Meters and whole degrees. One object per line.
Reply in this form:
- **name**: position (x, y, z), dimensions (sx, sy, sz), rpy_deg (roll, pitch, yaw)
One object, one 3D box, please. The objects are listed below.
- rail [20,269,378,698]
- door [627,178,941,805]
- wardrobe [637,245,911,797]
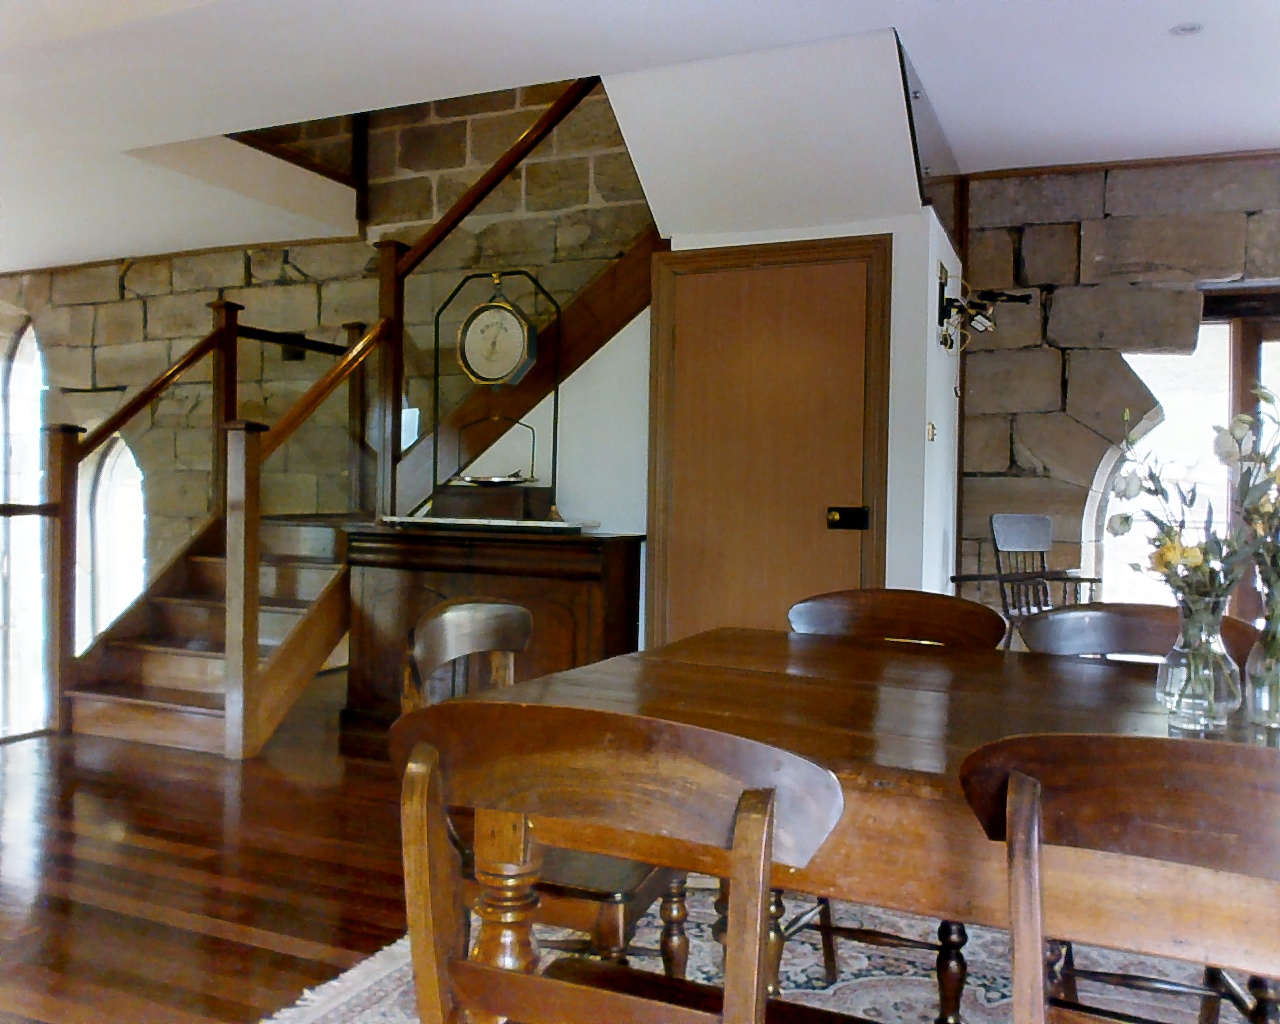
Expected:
- **rail**: position (-2.209, -0.120, 5.780), dimensions (0.280, 1.881, 2.170), rpy_deg (1, 0, 23)
- **door**: position (0.570, -0.090, 4.450), dimensions (1.240, 2.401, 0.160), rpy_deg (1, 0, 23)
- **wardrobe**: position (0.540, 0.010, 4.510), dimensions (1.010, 2.171, 0.150), rpy_deg (4, 1, 25)
